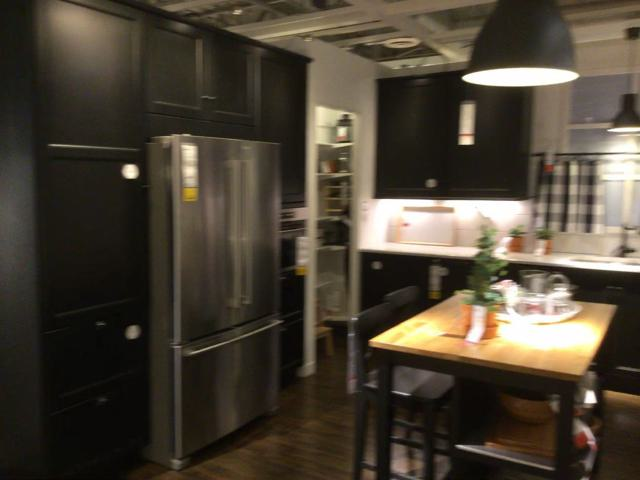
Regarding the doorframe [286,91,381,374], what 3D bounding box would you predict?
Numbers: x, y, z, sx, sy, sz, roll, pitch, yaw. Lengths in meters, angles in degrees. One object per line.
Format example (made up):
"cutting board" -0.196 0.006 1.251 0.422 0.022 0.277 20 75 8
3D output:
"doorframe" 0.150 -0.090 4.680 0.170 2.090 0.970 3 9 36
